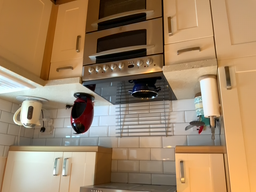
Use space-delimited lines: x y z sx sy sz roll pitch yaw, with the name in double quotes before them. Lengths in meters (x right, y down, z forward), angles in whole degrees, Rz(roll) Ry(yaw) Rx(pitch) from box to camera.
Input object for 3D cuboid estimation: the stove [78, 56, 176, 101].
"stove" 0.030 -0.100 1.670 0.610 0.100 0.570 -5 162 19
